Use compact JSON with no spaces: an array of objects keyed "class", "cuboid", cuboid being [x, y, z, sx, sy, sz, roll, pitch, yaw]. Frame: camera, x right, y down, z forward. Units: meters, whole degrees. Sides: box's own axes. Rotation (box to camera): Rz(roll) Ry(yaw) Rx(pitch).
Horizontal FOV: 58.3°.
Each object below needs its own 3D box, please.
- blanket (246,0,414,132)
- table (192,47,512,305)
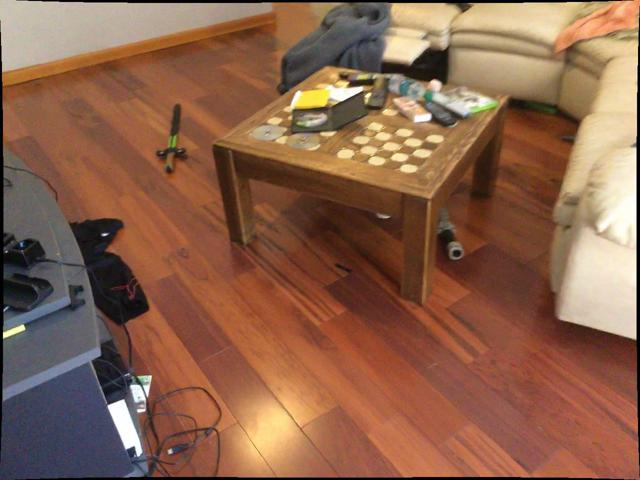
[{"class":"blanket","cuboid":[0.090,-1.031,3.180,0.689,0.520,0.740,10,38,16]},{"class":"table","cuboid":[0.170,-0.330,2.260,0.889,0.490,0.900,15,39,22]}]
